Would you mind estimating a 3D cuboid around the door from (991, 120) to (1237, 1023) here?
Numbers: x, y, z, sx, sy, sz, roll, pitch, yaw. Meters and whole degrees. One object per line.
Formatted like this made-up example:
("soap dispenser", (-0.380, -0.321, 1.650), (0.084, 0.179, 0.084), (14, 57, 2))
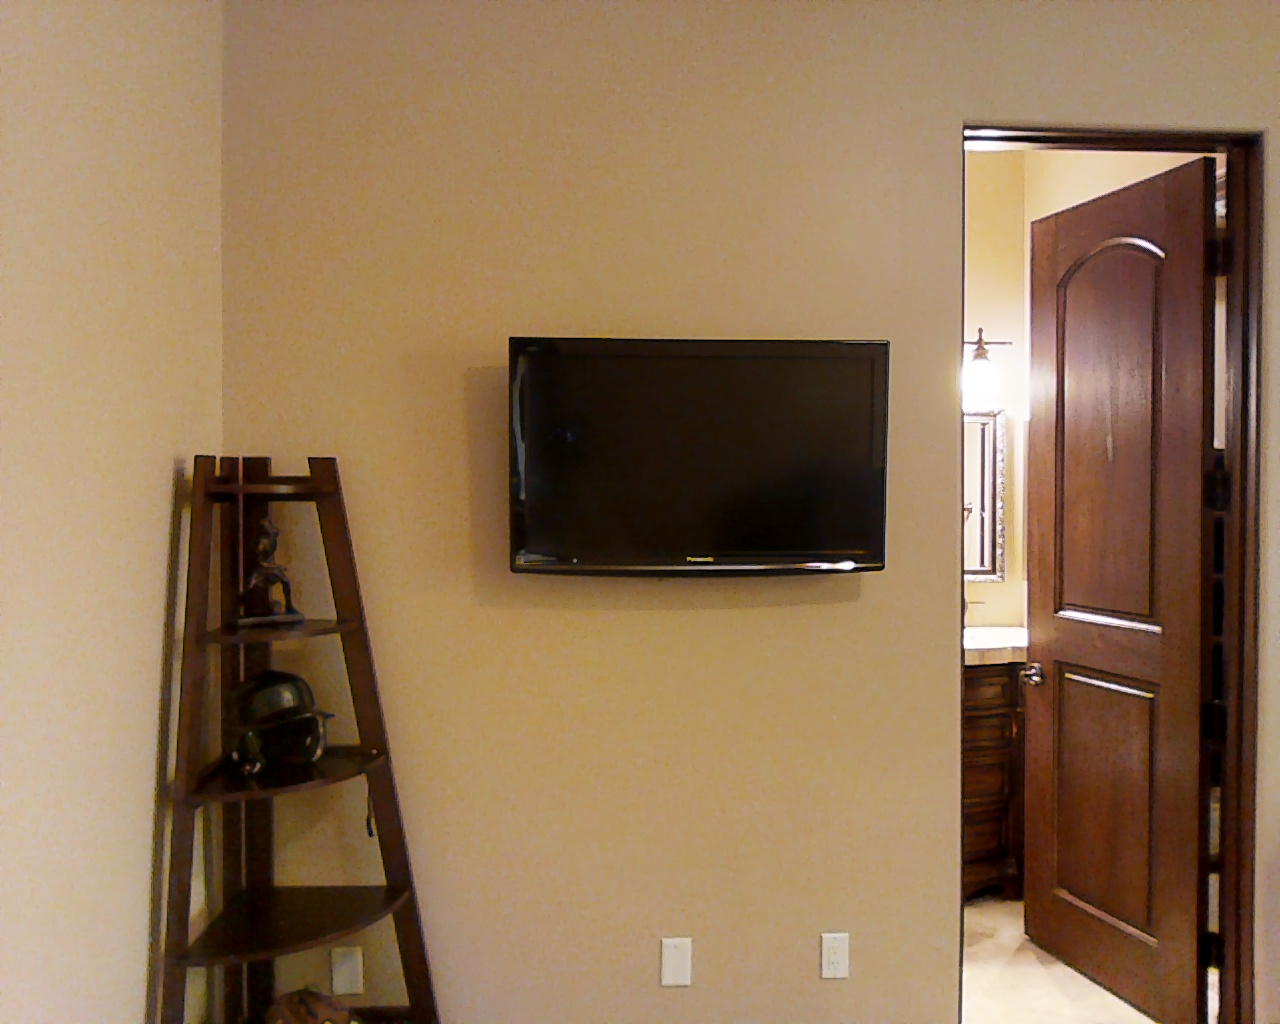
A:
("door", (1.410, 0.210, 3.290), (0.180, 2.500, 0.900), (0, 1, -13))
